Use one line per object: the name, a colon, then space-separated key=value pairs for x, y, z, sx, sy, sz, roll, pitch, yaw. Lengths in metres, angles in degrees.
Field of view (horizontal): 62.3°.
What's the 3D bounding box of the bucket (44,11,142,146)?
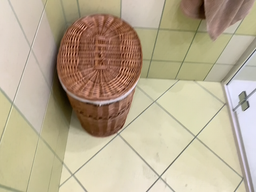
bucket: x=-0.140 y=-0.050 z=1.140 sx=0.360 sy=0.580 sz=0.450 roll=4 pitch=59 yaw=-3
